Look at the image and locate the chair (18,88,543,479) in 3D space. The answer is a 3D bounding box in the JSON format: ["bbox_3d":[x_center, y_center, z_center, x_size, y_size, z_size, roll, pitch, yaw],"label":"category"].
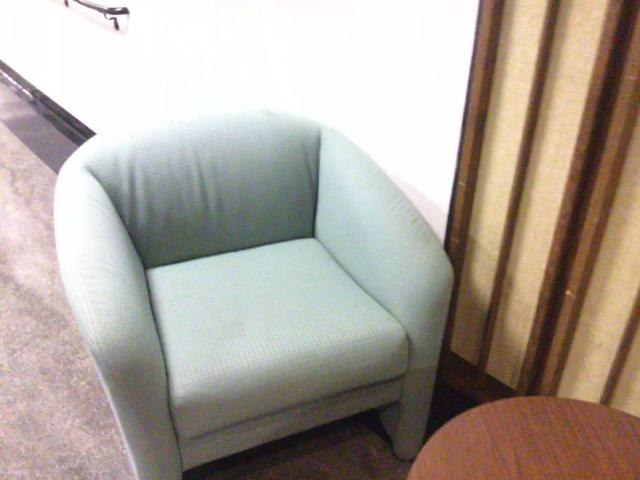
[{"bbox_3d":[-0.190,0.150,1.560,0.950,0.820,0.970,-12,30,-22],"label":"chair"}]
